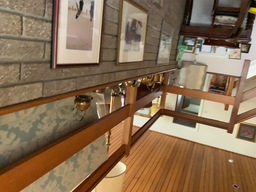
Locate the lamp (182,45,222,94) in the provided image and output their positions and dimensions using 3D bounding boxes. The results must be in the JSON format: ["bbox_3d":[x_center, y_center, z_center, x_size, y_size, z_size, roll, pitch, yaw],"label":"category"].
[{"bbox_3d":[1.230,-0.450,3.520,0.420,0.710,0.450,14,-165,25],"label":"lamp"}]

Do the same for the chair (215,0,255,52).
[{"bbox_3d":[1.540,-1.100,2.990,0.380,0.870,0.570,13,-166,21],"label":"chair"}]
